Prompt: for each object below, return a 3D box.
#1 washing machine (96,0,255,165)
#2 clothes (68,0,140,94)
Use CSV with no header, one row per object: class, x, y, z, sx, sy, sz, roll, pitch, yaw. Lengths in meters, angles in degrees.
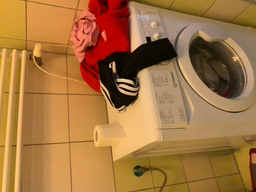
washing machine,0.330,-0.040,1.100,0.500,0.830,0.620,134,132,-56
clothes,-0.140,-0.220,0.960,0.430,0.180,0.280,139,129,-58
